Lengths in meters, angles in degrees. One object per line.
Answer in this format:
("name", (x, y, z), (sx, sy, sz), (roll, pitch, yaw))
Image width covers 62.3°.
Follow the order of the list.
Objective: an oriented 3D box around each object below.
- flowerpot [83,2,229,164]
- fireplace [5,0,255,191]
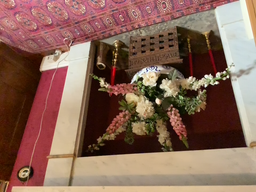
("flowerpot", (0.230, -0.030, 1.520), (0.760, 0.860, 0.600), (-9, 149, 21))
("fireplace", (0.210, 0.050, 1.440), (1.540, 1.160, 0.710), (-9, 149, 21))
